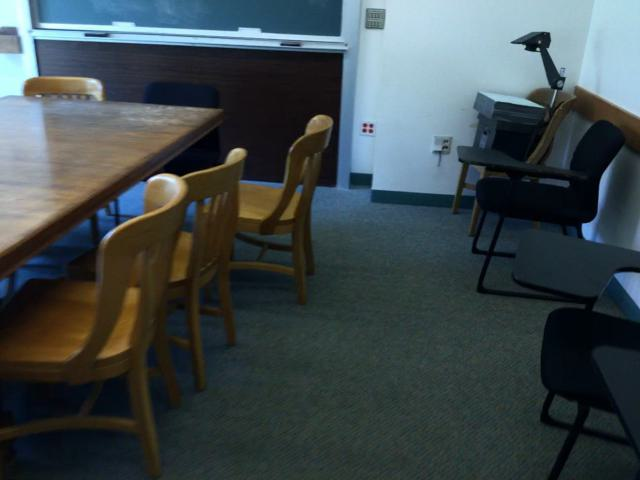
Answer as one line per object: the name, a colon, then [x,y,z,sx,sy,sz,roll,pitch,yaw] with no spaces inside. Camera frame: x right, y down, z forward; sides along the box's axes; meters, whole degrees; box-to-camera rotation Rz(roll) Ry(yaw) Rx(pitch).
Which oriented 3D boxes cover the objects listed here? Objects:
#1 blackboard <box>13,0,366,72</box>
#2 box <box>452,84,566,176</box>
blackboard: [-0.890,-1.610,3.890,2.380,0.710,0.160,6,23,4]
box: [1.090,-0.670,3.440,0.490,0.390,0.530,6,23,4]
